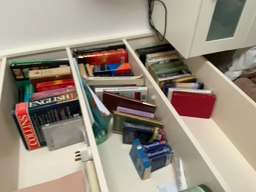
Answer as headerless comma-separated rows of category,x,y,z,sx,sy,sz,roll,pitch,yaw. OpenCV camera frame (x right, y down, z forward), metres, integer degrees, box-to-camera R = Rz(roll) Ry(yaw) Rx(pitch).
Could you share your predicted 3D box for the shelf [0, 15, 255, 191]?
shelf,0.200,0.080,0.960,1.150,2.100,0.270,-117,21,-45
